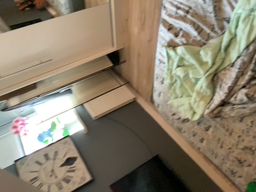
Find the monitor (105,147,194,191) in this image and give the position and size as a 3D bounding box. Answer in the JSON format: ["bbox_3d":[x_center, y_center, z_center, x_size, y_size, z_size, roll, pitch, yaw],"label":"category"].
[{"bbox_3d":[0.320,0.960,1.750,1.020,0.590,0.040,48,152,35],"label":"monitor"}]
